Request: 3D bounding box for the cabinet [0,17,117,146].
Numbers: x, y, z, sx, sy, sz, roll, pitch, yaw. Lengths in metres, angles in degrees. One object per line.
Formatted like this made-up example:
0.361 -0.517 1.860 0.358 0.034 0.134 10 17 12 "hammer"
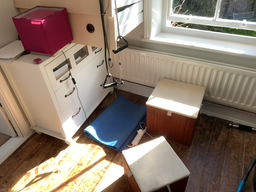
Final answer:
-0.560 -0.190 2.080 0.470 0.790 0.960 15 43 20 "cabinet"
